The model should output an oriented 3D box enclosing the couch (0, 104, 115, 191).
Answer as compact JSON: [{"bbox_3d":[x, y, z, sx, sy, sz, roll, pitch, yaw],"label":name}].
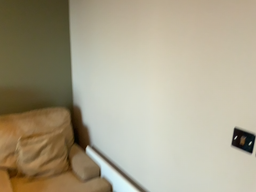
[{"bbox_3d":[-0.720,0.650,1.780,0.830,0.860,0.940,-9,18,-35],"label":"couch"}]
